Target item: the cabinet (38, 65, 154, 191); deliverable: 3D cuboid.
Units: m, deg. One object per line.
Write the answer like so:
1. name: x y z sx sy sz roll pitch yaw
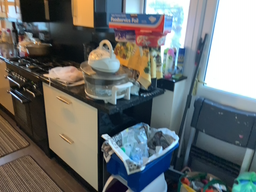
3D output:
1. cabinet: -0.300 0.280 1.980 0.780 0.910 0.630 21 28 38
